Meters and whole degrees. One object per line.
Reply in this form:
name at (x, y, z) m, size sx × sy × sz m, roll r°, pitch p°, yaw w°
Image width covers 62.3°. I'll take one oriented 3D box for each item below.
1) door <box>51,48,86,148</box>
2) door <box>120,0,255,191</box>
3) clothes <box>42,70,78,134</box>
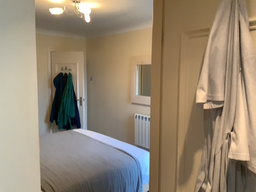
door at (-1.260, 0.040, 4.520) m, size 0.740 × 2.060 × 0.170 m, roll 4°, pitch 7°, yaw 21°
door at (0.360, 0.380, 1.050) m, size 0.120 × 2.250 × 1.190 m, roll -4°, pitch 9°, yaw -38°
clothes at (-1.380, 0.090, 4.340) m, size 0.640 × 1.240 × 0.280 m, roll 4°, pitch 7°, yaw 21°
